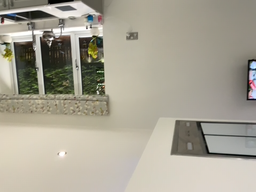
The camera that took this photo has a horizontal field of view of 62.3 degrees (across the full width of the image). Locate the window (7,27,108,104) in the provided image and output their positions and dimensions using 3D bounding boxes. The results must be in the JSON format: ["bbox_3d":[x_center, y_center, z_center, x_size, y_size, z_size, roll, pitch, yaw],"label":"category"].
[{"bbox_3d":[-1.110,-0.440,3.260,1.650,1.100,0.050,1,-172,14],"label":"window"}]
